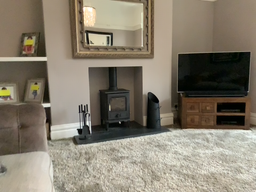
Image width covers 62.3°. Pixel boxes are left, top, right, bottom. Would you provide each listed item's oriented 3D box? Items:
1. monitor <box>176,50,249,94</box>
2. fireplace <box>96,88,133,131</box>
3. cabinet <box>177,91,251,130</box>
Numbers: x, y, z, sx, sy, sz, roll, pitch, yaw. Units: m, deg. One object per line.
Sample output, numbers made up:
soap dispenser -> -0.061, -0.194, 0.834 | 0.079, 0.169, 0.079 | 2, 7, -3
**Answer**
monitor -> 1.330, -0.370, 3.410 | 1.060, 0.680, 0.090 | 0, 9, 10
fireplace -> -0.220, 0.190, 3.400 | 0.470, 0.590, 0.400 | -5, 9, -22
cabinet -> 1.350, 0.210, 3.500 | 1.000, 0.510, 0.610 | 0, 9, 9
